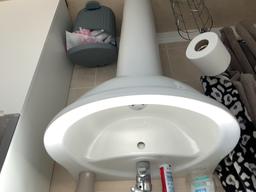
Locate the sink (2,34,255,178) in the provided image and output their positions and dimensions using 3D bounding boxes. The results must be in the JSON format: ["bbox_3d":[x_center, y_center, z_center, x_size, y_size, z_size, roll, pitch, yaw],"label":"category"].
[{"bbox_3d":[0.030,0.070,0.660,0.560,0.200,0.440,-3,142,1],"label":"sink"}]
